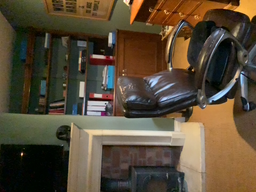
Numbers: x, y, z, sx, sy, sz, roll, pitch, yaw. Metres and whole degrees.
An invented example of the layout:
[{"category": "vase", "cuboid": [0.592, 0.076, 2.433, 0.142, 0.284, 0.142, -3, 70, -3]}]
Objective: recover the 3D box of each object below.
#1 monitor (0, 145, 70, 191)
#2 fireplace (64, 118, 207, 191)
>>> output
[{"category": "monitor", "cuboid": [-1.000, 1.060, 2.150, 0.060, 0.730, 1.100, 152, 120, -76]}, {"category": "fireplace", "cuboid": [0.030, 1.080, 2.340, 0.790, 1.370, 1.610, 148, 124, -76]}]
